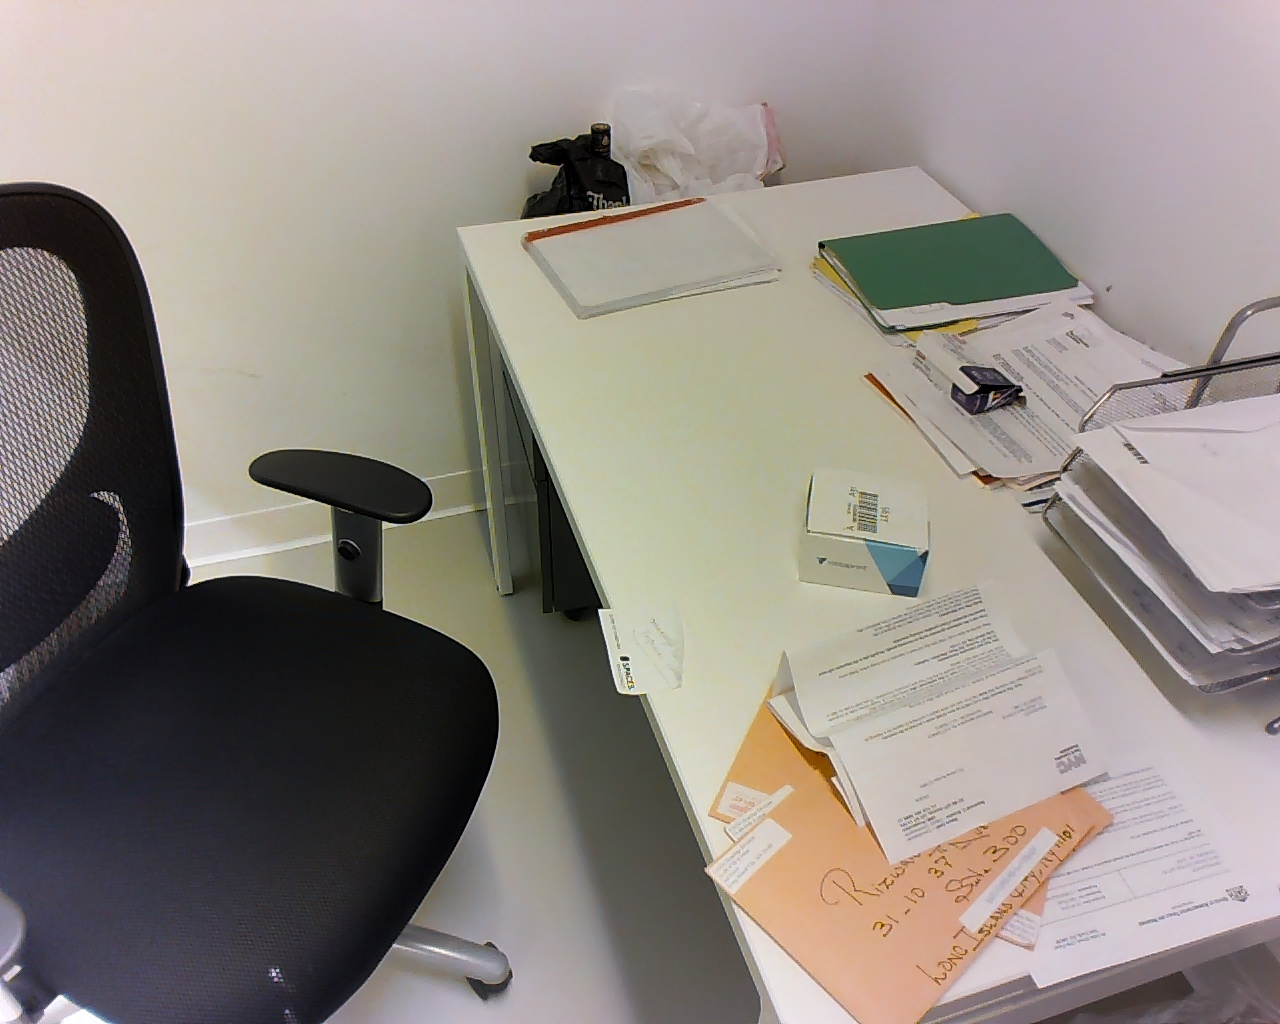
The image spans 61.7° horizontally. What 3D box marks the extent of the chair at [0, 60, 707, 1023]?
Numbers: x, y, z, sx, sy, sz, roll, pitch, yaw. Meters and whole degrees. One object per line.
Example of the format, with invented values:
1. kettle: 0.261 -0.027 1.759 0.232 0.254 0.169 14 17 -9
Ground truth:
1. chair: -0.440 0.230 1.160 0.740 1.060 0.730 19 45 19
